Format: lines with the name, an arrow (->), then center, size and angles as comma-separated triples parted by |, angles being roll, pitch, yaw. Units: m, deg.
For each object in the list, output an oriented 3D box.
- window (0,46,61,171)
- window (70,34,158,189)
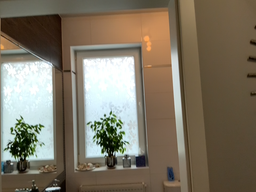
window -> -1.250, 0.140, 2.620 | 0.770, 1.460, 0.140 | -3, -4, -1
window -> -0.170, 0.170, 2.520 | 0.930, 1.720, 0.210 | -3, -4, 4
